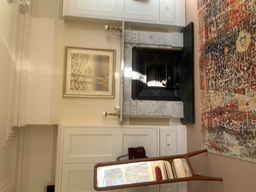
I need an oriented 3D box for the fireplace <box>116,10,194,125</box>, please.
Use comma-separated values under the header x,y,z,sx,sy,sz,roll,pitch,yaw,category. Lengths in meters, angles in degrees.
x,y,z,sx,sy,sz,roll,pitch,yaw,category
0.460,-0.440,3.880,0.760,1.230,1.850,155,117,-79,fireplace
